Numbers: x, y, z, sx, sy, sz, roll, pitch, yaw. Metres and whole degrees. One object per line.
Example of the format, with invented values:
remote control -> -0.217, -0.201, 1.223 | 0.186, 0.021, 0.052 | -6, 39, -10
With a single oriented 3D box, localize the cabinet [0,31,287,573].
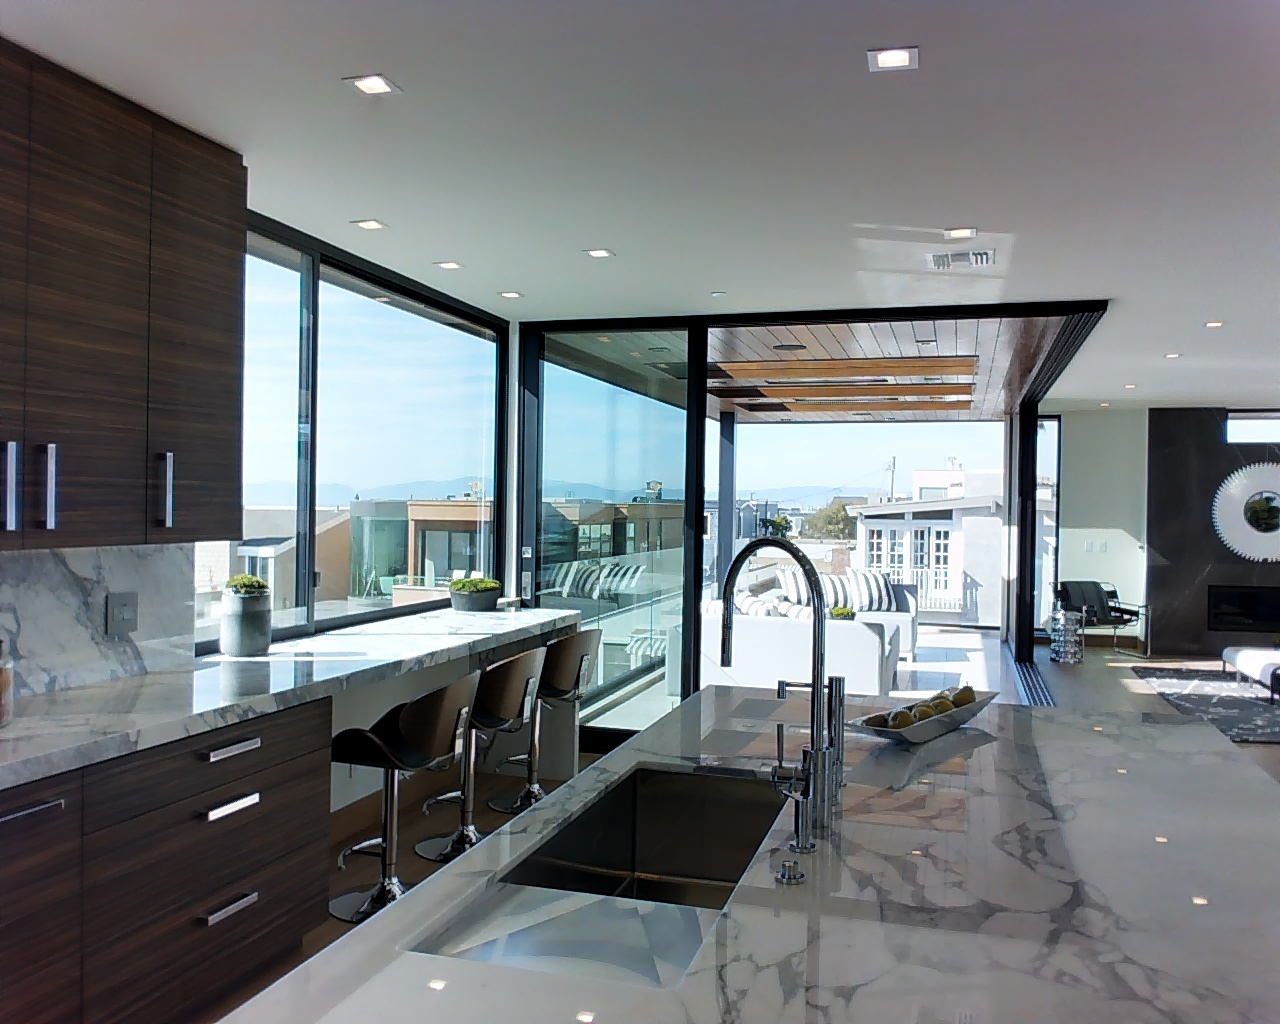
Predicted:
cabinet -> -1.640, -0.520, 3.100 | 0.360, 1.340, 1.530 | 1, 0, 17

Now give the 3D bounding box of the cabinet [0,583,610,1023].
cabinet -> -1.610, 0.970, 2.730 | 0.750, 1.080, 7.300 | 1, 0, 17
